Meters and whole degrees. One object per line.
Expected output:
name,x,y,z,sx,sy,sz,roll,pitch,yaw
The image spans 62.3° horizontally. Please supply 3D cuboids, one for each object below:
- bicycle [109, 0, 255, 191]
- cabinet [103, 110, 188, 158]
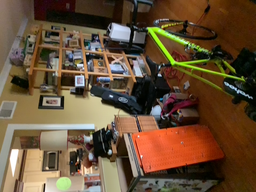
bicycle,0.550,-0.280,1.620,1.760,1.030,0.710,-108,27,-46
cabinet,0.210,0.490,2.800,0.390,0.960,0.440,-114,32,-53
